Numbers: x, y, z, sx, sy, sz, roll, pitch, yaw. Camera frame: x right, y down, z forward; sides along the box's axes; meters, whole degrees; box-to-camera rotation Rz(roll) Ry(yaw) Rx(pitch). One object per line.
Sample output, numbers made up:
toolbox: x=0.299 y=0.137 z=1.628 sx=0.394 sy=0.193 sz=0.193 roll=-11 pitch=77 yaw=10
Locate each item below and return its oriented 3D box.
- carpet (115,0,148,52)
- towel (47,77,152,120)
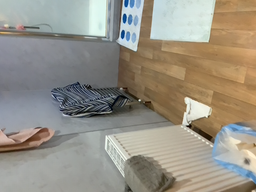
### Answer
carpet: x=0.030 y=-0.970 z=2.430 sx=0.610 sy=0.070 sz=0.870 roll=29 pitch=118 yaw=59
towel: x=-0.360 y=-0.030 z=2.280 sx=0.930 sy=0.850 sz=0.140 roll=33 pitch=121 yaw=58
